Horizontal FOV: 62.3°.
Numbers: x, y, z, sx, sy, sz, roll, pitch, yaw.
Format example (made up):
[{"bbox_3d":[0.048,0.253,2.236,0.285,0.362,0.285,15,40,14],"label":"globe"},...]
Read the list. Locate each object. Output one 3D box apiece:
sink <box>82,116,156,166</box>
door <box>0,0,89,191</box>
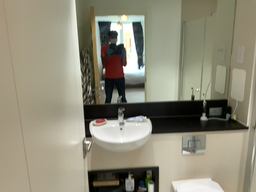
[{"bbox_3d":[-0.080,0.350,1.790,0.530,0.200,0.500,-2,13,-4],"label":"sink"},{"bbox_3d":[-0.260,0.360,0.910,0.030,2.030,0.800,-1,13,-2],"label":"door"}]
